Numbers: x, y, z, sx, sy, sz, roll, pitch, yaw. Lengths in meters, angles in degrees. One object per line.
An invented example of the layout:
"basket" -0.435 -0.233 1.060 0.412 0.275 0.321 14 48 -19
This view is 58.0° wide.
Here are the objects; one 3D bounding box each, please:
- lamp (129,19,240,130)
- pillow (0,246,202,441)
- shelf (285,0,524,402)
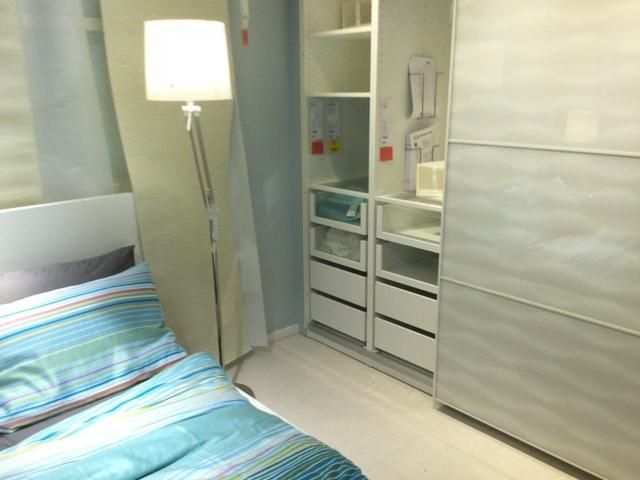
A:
"lamp" -0.450 -0.560 1.940 0.270 0.330 0.220 -15 24 -38
"pillow" -0.810 0.320 1.900 0.690 0.200 0.430 -15 67 -38
"shelf" 0.350 -0.480 2.750 0.480 2.240 0.960 -19 27 -37
